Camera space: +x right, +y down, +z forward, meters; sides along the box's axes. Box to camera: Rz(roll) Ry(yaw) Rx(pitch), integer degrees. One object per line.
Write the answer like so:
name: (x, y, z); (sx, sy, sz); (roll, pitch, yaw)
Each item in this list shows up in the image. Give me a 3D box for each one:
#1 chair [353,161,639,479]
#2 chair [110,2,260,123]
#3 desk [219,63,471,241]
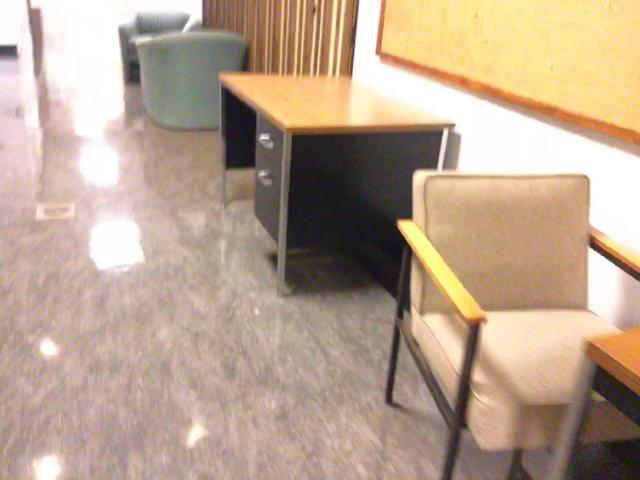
chair: (0.600, 0.160, 1.520); (0.760, 0.500, 0.740); (-4, 27, -19)
chair: (-1.170, -1.550, 4.960); (0.940, 0.780, 1.010); (-11, 30, -29)
desk: (0.020, -0.500, 2.830); (0.820, 0.480, 1.190); (-4, 27, -19)
